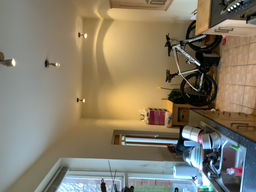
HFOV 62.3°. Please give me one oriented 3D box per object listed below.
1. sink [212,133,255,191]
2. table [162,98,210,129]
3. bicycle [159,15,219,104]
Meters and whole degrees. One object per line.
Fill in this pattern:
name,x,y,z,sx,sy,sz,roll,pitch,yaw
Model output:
sink,0.950,0.610,1.910,0.400,0.180,0.440,-107,20,-83
table,1.250,0.370,4.710,0.600,0.850,0.520,-107,20,-83
bicycle,1.250,-0.740,4.530,0.590,0.920,1.690,-102,16,-82
